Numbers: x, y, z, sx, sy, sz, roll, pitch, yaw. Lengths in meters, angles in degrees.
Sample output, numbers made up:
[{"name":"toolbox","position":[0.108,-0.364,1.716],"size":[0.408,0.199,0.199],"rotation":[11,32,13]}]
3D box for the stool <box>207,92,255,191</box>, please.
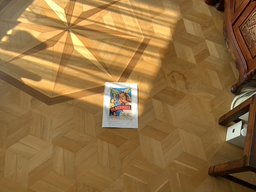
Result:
[{"name":"stool","position":[0.670,0.260,1.060],"size":[0.330,0.370,0.360],"rotation":[23,66,5]}]
